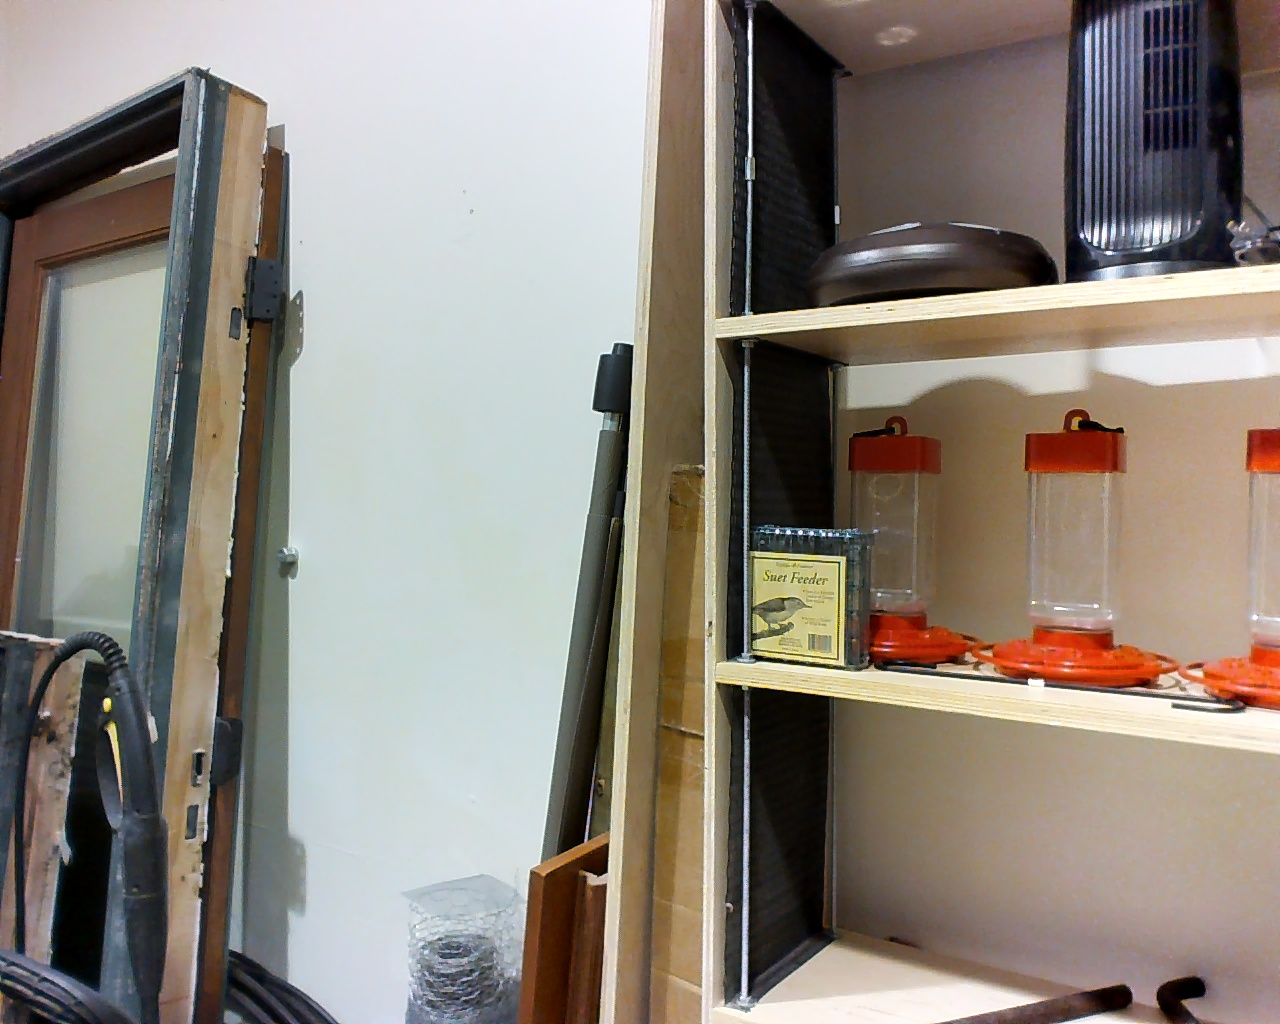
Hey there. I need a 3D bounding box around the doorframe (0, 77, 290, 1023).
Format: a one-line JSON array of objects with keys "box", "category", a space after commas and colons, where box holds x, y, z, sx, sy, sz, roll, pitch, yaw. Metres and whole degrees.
[{"box": [-1.140, 0.340, 1.980, 0.980, 2.080, 0.180, 1, -6, 34], "category": "doorframe"}]
